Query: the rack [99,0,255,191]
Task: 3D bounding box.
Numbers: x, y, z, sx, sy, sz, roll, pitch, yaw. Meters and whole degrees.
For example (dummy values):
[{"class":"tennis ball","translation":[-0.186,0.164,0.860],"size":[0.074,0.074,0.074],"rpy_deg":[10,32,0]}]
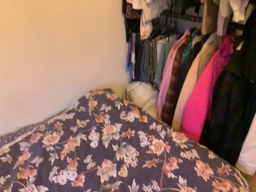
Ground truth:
[{"class":"rack","translation":[0.510,-0.570,1.480],"size":[0.760,2.320,1.310],"rpy_deg":[-29,41,-35]}]
